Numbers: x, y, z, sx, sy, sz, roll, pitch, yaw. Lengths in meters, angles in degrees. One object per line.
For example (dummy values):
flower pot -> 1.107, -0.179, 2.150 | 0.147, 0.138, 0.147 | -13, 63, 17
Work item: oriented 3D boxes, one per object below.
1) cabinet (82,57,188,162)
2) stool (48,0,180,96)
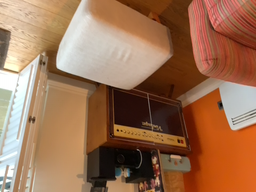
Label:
cabinet -> 0.050, 0.160, 1.920 | 0.800, 0.710, 0.390 | 15, 145, -30
stool -> -0.100, -0.350, 1.330 | 0.590, 0.380, 0.510 | 17, 144, -32
